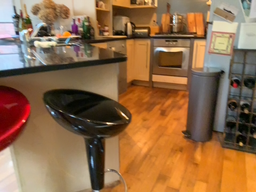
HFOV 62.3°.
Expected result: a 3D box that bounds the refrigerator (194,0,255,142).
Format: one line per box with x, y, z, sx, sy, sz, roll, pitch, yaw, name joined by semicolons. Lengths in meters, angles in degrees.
1.050;-0.350;2.060;0.590;1.390;0.550;8;20;24;refrigerator
